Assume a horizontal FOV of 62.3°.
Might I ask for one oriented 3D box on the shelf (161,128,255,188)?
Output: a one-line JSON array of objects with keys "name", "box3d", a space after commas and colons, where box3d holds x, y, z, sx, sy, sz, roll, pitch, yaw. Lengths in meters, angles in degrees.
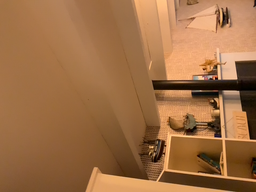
[{"name": "shelf", "box3d": [1.270, 0.540, 1.650, 0.460, 1.940, 0.240, 71, -153, -44]}]
